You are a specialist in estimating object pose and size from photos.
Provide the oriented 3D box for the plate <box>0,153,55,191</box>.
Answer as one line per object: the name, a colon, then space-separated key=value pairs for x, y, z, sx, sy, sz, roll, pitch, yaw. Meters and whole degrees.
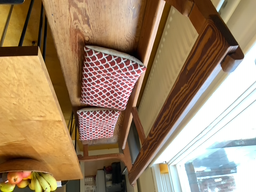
plate: x=-0.590 y=0.460 z=1.150 sx=0.310 sy=0.180 sz=0.340 roll=-3 pitch=151 yaw=-9
